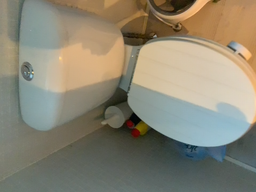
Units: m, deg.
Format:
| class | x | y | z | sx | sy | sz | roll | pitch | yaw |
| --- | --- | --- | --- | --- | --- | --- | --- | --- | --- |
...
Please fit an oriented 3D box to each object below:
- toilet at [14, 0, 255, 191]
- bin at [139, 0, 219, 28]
| class | x | y | z | sx | sy | sz | roll | pitch | yaw |
| --- | --- | --- | --- | --- | --- | --- | --- | --- | --- |
| toilet | 0.140 | -0.050 | 0.830 | 0.670 | 0.800 | 0.420 | 22 | 113 | 25 |
| bin | 0.250 | -0.500 | 0.980 | 0.310 | 0.180 | 0.320 | 16 | 110 | 27 |
